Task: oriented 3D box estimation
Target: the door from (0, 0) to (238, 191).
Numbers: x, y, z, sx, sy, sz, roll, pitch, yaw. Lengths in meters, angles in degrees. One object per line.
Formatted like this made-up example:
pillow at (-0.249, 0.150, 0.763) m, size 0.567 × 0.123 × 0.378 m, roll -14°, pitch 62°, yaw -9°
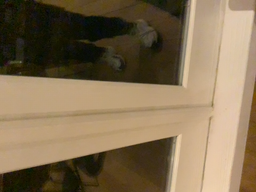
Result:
door at (-0.390, 0.220, 0.300) m, size 0.100 × 2.200 × 1.630 m, roll 9°, pitch 97°, yaw 47°
